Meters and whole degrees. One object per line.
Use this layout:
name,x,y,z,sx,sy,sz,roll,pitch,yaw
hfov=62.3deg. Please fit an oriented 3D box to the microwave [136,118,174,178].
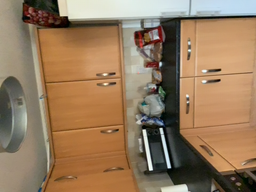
microwave,0.280,0.580,2.380,0.310,0.260,0.560,99,165,-59
